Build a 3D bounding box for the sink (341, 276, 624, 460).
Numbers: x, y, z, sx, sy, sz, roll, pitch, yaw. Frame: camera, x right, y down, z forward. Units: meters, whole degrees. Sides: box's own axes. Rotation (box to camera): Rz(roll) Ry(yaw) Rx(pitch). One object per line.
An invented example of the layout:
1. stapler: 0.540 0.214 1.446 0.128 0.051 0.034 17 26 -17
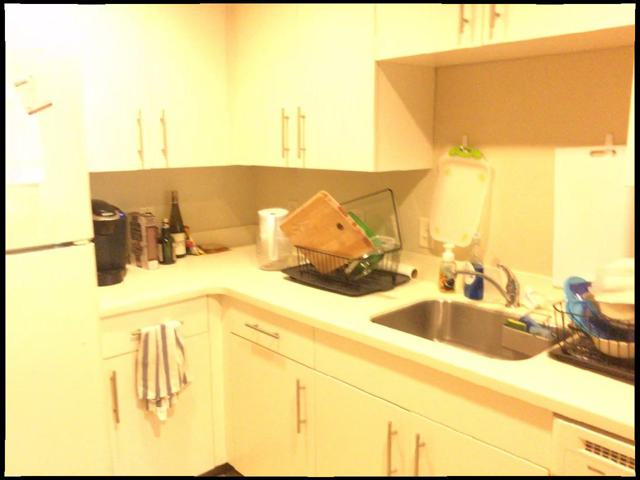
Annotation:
1. sink: 0.509 0.351 1.880 0.569 0.261 0.679 -9 14 -41
